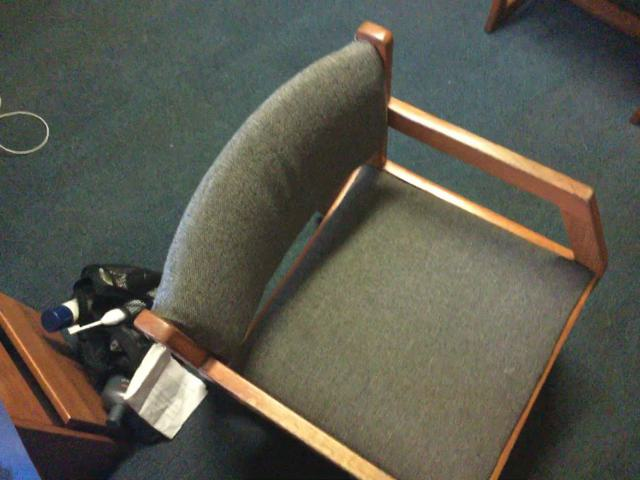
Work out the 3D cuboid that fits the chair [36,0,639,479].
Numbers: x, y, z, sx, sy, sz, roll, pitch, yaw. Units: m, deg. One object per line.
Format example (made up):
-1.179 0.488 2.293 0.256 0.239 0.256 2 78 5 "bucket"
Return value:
0.160 0.150 0.960 0.620 0.720 0.660 33 73 15 "chair"
